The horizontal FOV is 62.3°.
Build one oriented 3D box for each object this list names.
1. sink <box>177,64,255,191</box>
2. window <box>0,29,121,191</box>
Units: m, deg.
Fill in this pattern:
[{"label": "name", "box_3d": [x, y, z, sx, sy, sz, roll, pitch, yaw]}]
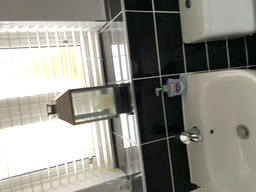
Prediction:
[{"label": "sink", "box_3d": [0.440, 0.160, 0.900, 0.420, 0.180, 0.550, 180, 82, -66]}, {"label": "window", "box_3d": [-0.570, 0.080, 1.160, 0.070, 1.010, 0.860, 180, 82, -66]}]
